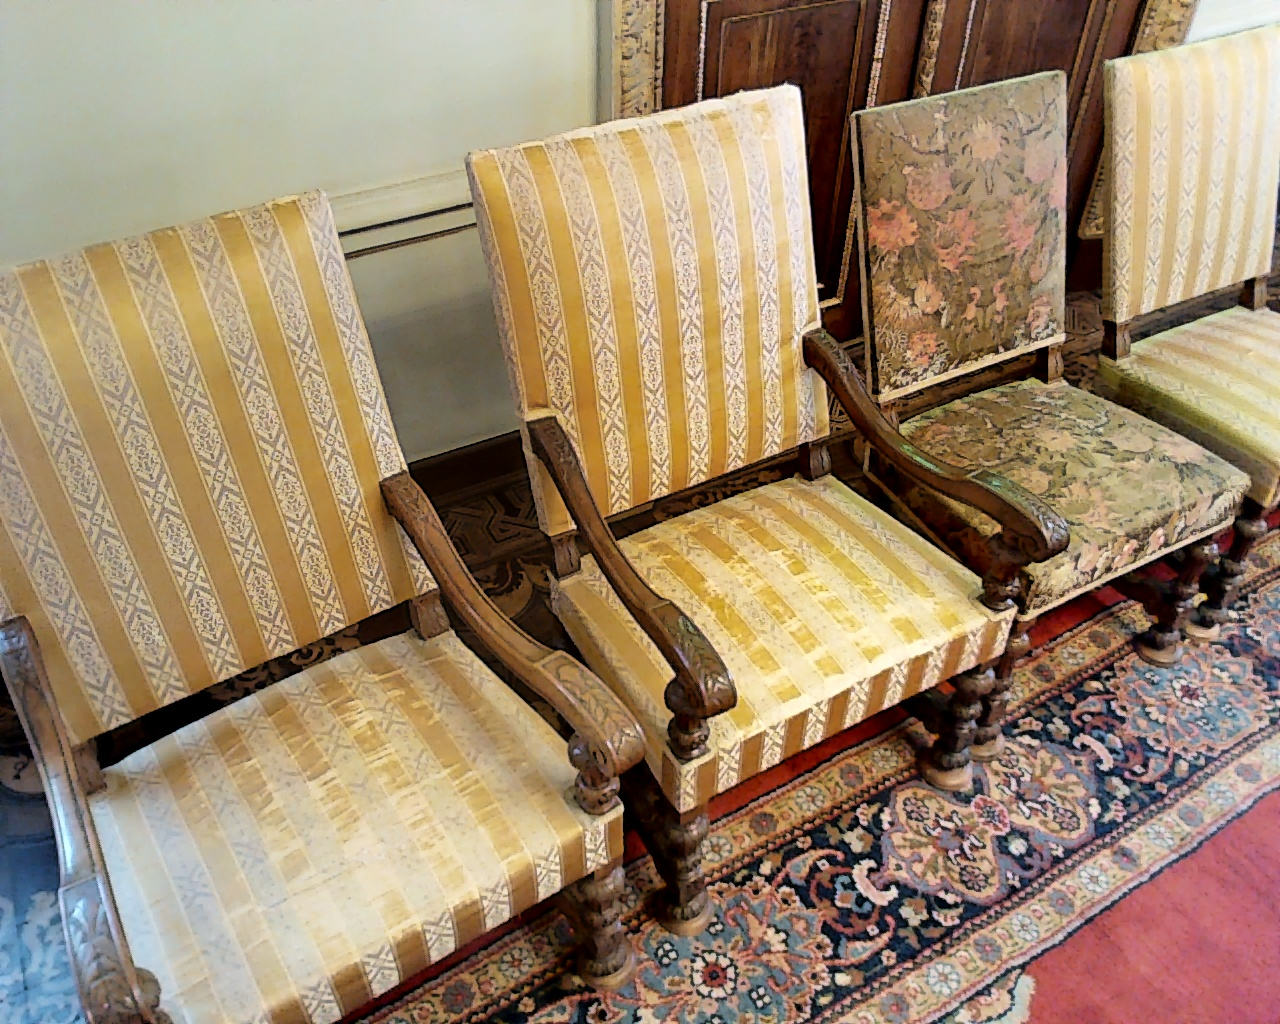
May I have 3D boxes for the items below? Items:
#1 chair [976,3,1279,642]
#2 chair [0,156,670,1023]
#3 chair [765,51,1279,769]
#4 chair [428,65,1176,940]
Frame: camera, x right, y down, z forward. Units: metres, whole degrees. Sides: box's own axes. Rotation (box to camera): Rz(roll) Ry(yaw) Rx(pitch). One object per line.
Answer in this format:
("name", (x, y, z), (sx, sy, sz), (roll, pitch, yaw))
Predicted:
("chair", (1.310, -0.410, 2.320), (0.570, 1.030, 0.740), (-19, 46, -21))
("chair", (-0.490, 0.250, 1.520), (0.720, 1.110, 0.780), (-22, 47, -24))
("chair", (0.740, -0.200, 2.090), (0.580, 1.040, 0.750), (-19, 46, -21))
("chair", (0.170, -0.020, 1.830), (0.700, 1.100, 0.770), (-19, 46, -21))
